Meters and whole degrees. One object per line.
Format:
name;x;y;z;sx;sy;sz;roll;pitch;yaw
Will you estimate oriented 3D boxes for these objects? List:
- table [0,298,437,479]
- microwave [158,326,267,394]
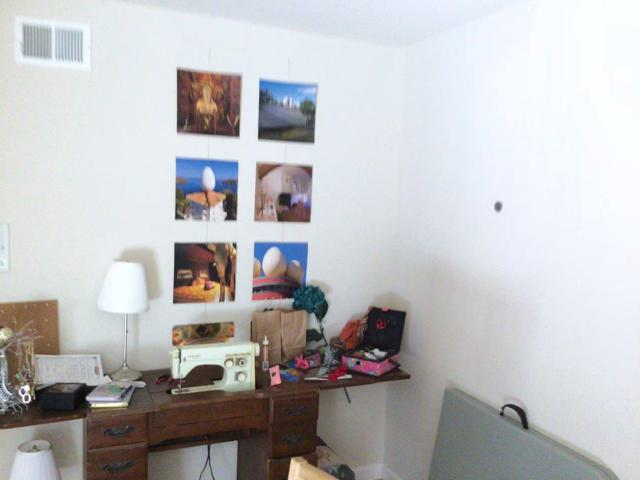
table;-0.470;0.850;2.620;2.030;1.050;0.510;1;3;-27
microwave;-0.490;0.530;2.610;0.410;0.210;0.290;1;3;-27
